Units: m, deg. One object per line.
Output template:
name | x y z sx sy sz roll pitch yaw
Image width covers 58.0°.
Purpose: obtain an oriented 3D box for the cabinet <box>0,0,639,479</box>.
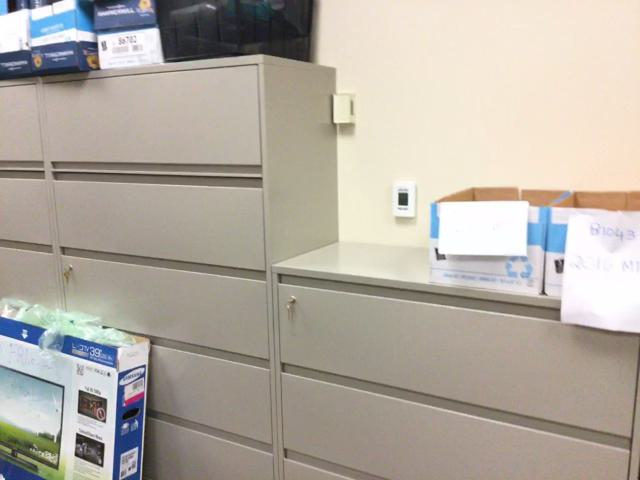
cabinet | -0.100 0.230 2.040 4.390 1.710 0.680 3 9 31
